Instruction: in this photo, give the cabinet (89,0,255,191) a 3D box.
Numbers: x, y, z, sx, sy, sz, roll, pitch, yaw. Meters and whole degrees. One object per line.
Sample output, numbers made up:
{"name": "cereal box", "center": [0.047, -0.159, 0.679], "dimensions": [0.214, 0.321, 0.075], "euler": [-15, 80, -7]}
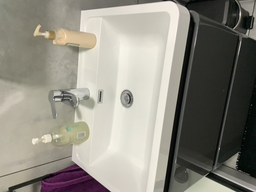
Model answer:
{"name": "cabinet", "center": [0.280, -0.010, 1.000], "dimensions": [0.440, 0.750, 0.620], "euler": [16, 105, 42]}
